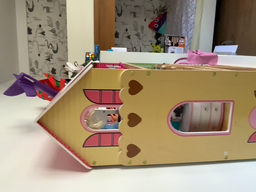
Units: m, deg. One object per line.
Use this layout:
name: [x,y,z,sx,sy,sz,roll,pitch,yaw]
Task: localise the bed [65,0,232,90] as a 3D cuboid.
bed: [0.170,-1.220,2.510,1.040,1.670,2.130,-130,41,-73]
